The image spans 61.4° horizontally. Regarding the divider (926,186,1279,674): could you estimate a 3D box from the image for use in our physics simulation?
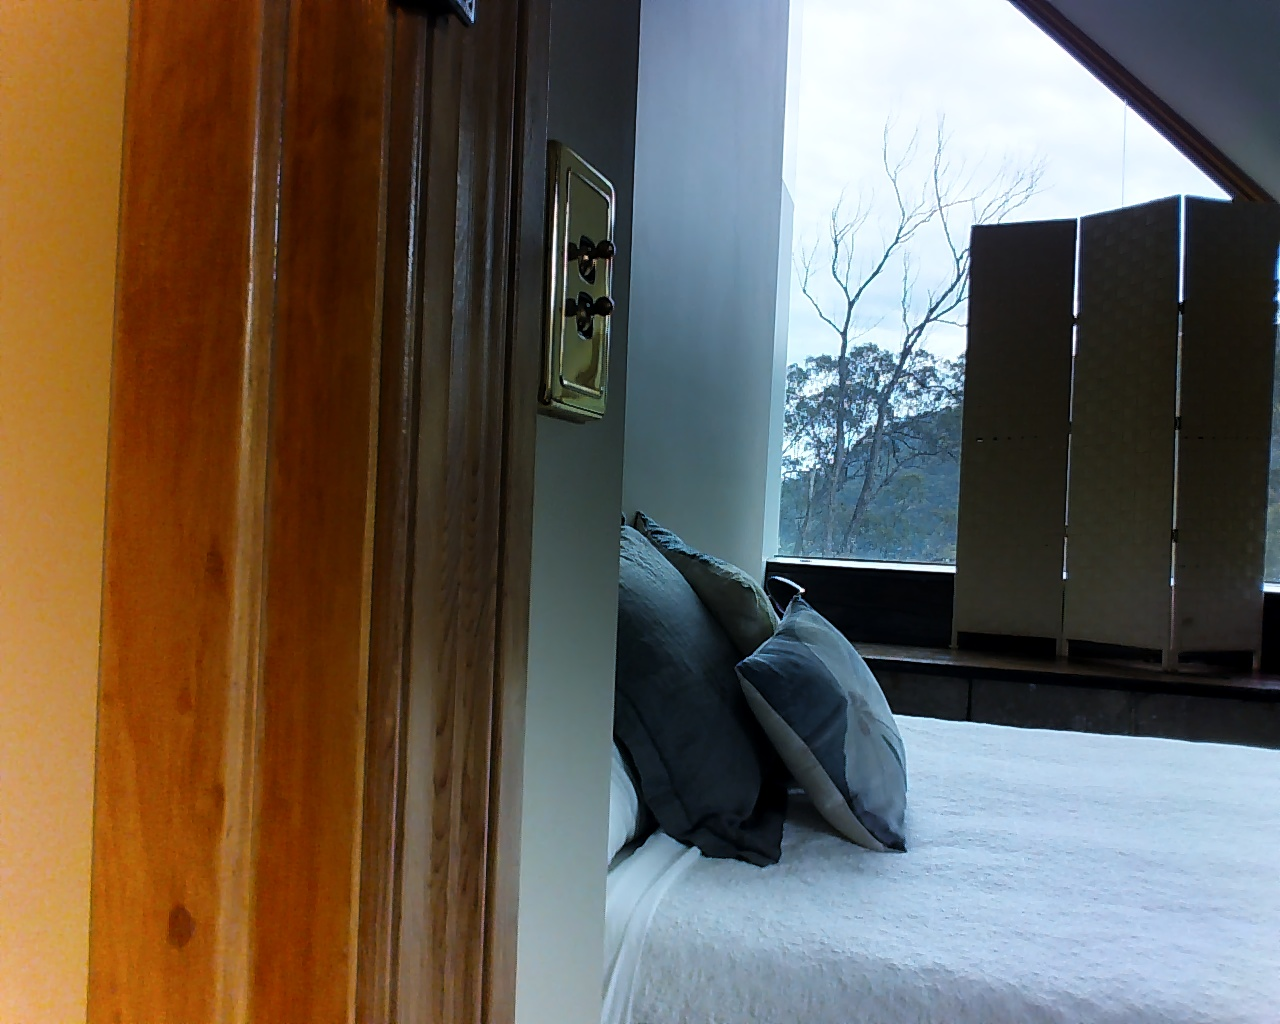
[{"bbox_3d":[1.709,-0.300,4.020,1.150,1.661,0.210,3,-1,29],"label":"divider"}]

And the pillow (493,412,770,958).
[{"bbox_3d":[0.040,0.300,2.030,0.250,0.710,0.700,3,37,17],"label":"pillow"}]

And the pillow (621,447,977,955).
[{"bbox_3d":[0.270,0.380,2.320,0.300,0.630,0.820,-14,45,-20],"label":"pillow"}]
